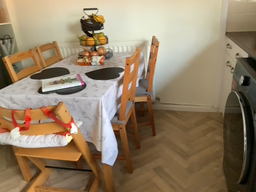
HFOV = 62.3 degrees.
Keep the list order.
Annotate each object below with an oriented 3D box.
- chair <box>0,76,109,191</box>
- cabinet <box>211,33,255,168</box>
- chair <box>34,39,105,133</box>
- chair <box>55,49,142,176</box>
[{"bbox_3d":[-0.480,0.330,1.310,0.510,0.760,0.530,3,24,14],"label":"chair"},{"bbox_3d":[1.110,-0.020,1.780,0.620,0.880,0.820,2,24,14],"label":"cabinet"},{"bbox_3d":[-0.560,-0.100,2.180,0.470,0.880,0.330,1,24,12],"label":"chair"},{"bbox_3d":[-0.170,0.120,1.610,0.470,0.880,0.320,2,24,14],"label":"chair"}]
